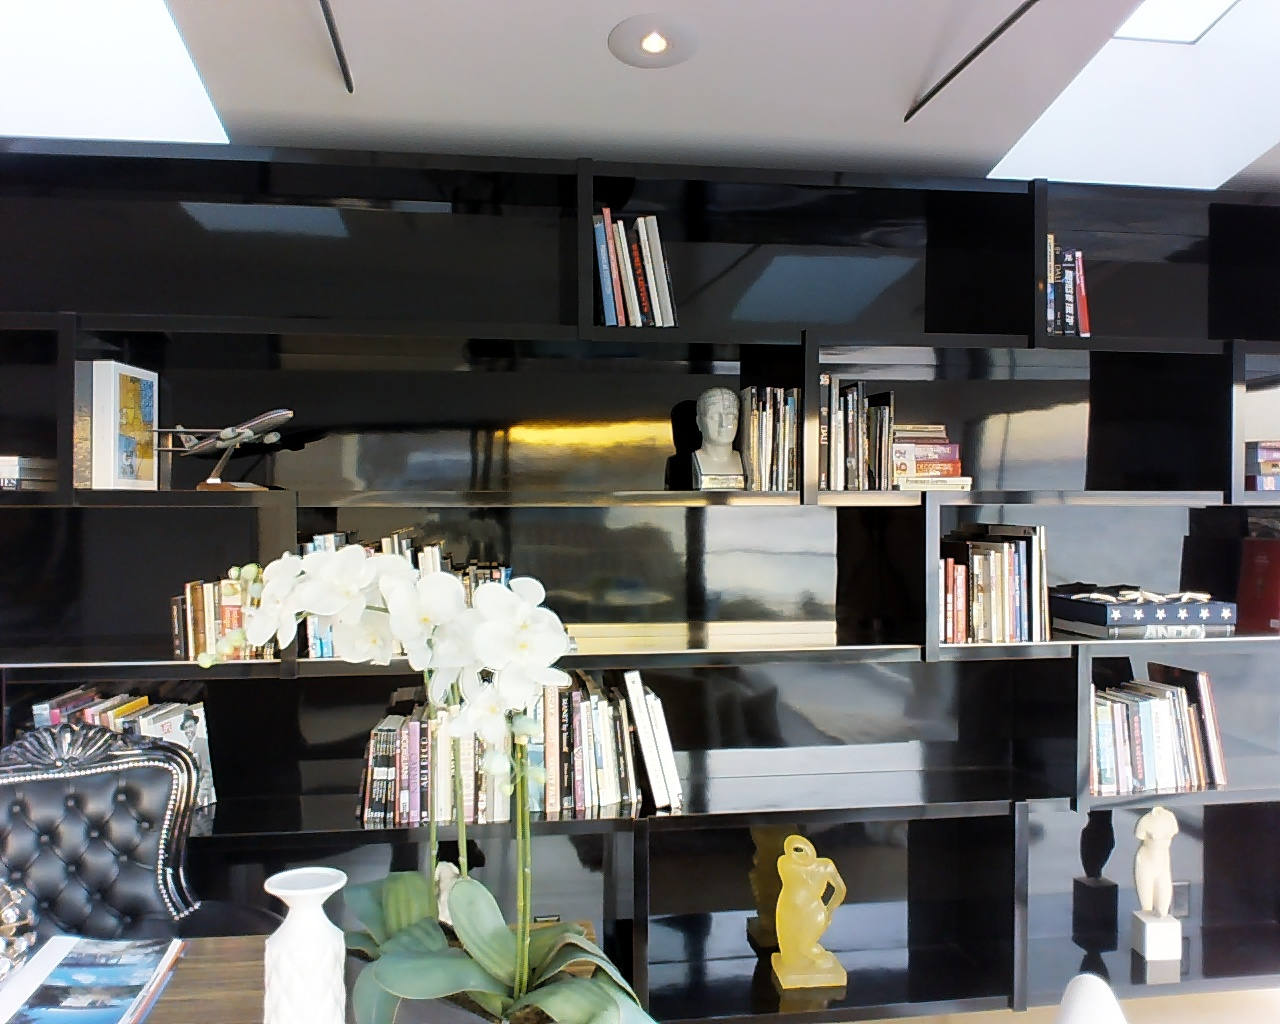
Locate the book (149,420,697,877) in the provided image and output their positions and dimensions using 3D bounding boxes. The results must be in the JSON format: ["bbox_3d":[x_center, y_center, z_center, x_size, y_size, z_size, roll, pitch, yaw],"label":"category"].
[{"bbox_3d":[-0.570,0.340,3.010,1.399,1.151,0.410,0,1,-8],"label":"book"}]

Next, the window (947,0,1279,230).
[{"bbox_3d":[1.459,-1.231,2.740,0.820,0.660,1.350,0,1,-8],"label":"window"}]

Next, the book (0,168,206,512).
[{"bbox_3d":[-1.769,-0.420,2.790,1.130,0.840,0.380,0,1,-8],"label":"book"}]

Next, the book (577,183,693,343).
[{"bbox_3d":[-0.020,-0.670,2.940,0.280,0.370,0.260,0,1,-9],"label":"book"}]
